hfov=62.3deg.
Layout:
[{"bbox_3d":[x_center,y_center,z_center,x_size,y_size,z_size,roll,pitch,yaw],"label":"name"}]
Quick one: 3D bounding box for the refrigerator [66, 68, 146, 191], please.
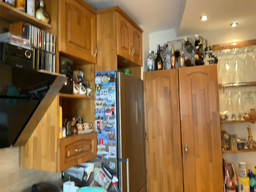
[{"bbox_3d":[-0.190,0.790,2.090,0.550,2.000,0.610,-3,-4,24],"label":"refrigerator"}]
